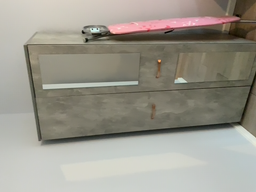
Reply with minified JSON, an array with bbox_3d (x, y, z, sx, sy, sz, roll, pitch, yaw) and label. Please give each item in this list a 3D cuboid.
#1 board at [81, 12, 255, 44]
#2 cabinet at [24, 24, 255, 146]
[{"bbox_3d":[0.350,-0.580,1.800,0.430,1.440,0.160,-110,21,-62],"label":"board"},{"bbox_3d":[0.170,-0.130,1.950,0.570,1.860,0.850,-116,27,-62],"label":"cabinet"}]
